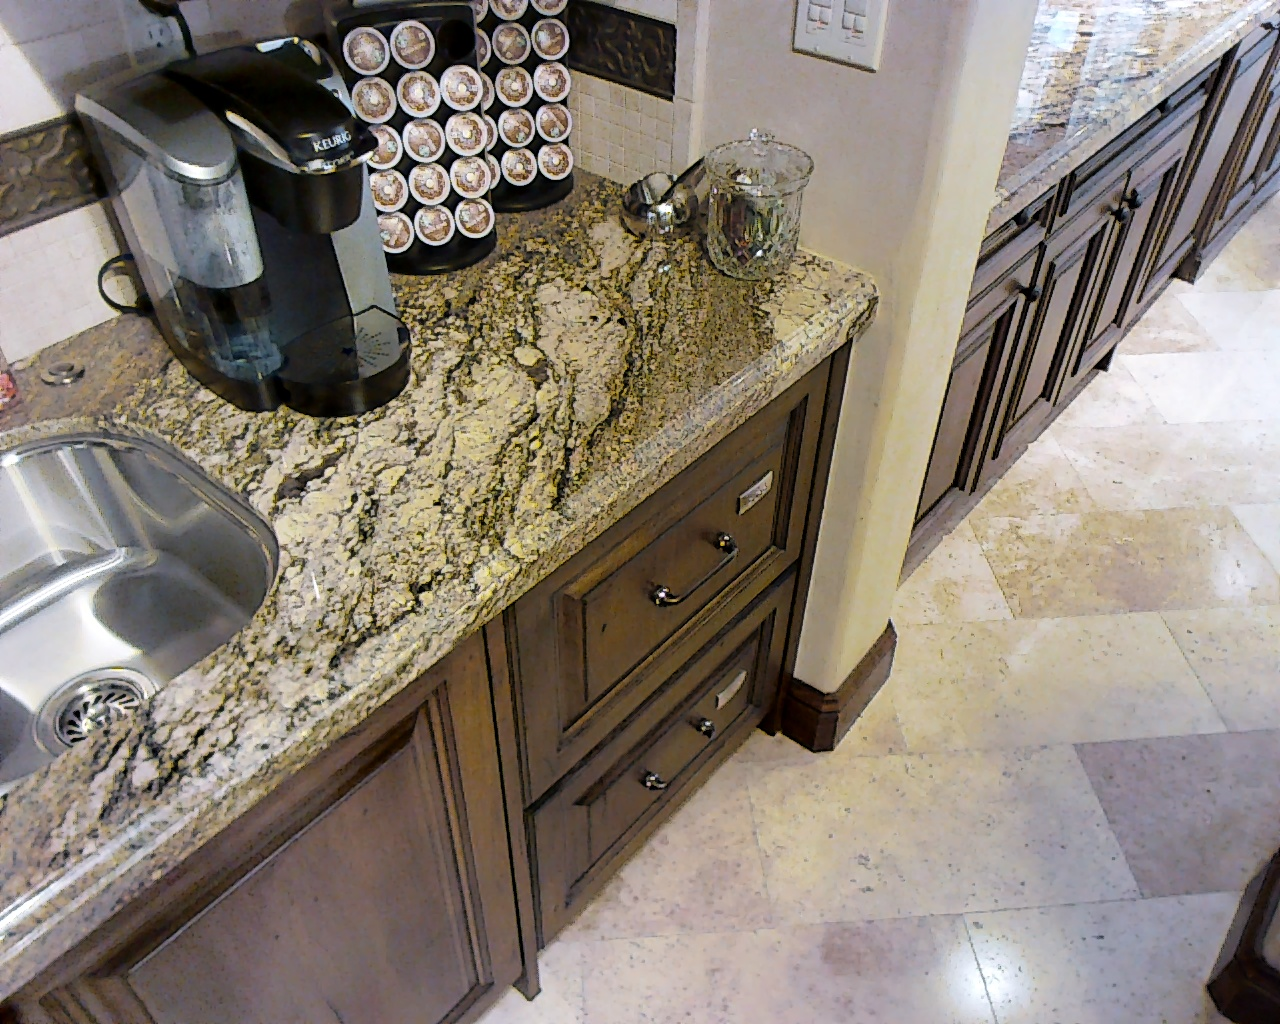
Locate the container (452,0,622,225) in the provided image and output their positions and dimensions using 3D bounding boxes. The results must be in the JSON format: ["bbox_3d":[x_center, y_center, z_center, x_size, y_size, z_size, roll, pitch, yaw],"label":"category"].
[{"bbox_3d":[-0.130,-0.570,1.410,0.200,0.340,0.070,-18,45,-20],"label":"container"}]

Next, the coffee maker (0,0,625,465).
[{"bbox_3d":[-0.320,-0.380,1.190,0.360,0.340,0.510,29,49,29],"label":"coffee maker"}]

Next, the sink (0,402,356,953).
[{"bbox_3d":[-0.560,0.130,1.050,0.380,0.210,0.360,29,49,29],"label":"sink"}]

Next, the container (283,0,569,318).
[{"bbox_3d":[-0.240,-0.460,1.290,0.170,0.340,0.250,29,49,29],"label":"container"}]
